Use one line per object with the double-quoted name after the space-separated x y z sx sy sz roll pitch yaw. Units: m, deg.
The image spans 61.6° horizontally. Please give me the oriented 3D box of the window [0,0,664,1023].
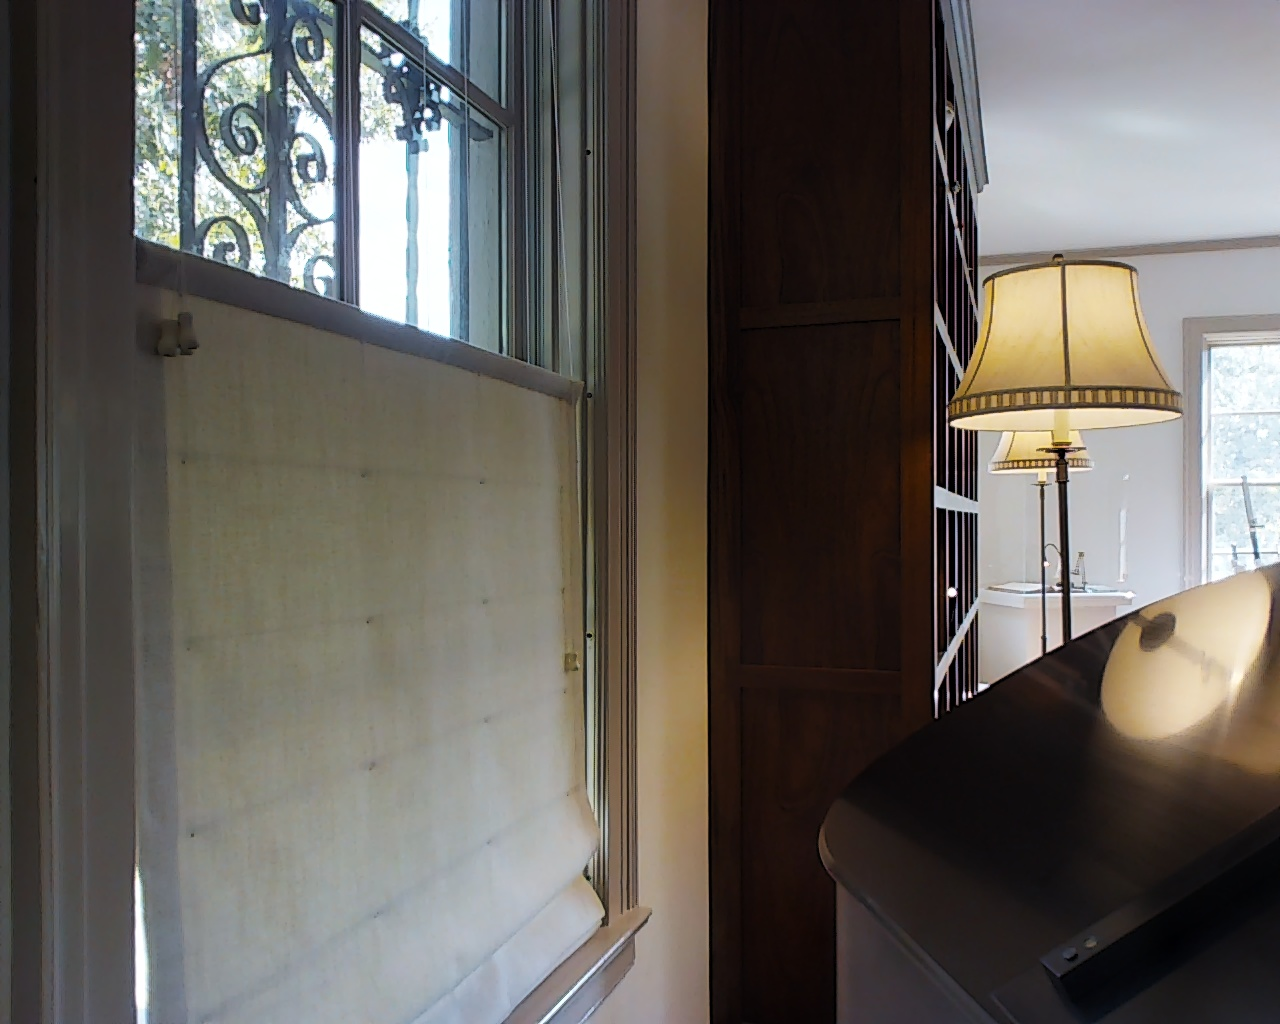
-0.290 -0.260 1.470 0.240 2.140 1.330 0 0 19 "window"
